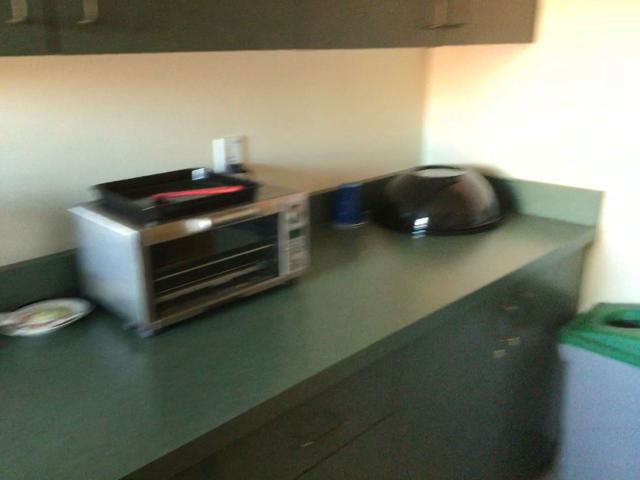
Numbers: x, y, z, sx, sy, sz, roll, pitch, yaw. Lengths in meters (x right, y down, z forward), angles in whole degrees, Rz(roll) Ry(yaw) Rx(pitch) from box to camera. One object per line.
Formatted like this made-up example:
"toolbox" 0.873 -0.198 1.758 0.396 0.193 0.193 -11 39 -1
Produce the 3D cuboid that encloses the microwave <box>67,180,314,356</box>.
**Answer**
"microwave" -0.270 0.030 1.240 0.370 0.200 0.320 -26 26 -38
